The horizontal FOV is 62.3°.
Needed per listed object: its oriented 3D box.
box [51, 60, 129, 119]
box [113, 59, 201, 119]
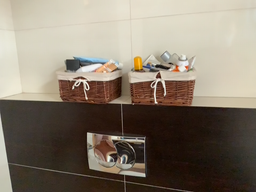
[{"bbox_3d":[-0.150,-0.040,0.890,0.250,0.210,0.180,3,12,22],"label":"box"},{"bbox_3d":[0.120,-0.040,0.820,0.290,0.190,0.190,3,12,22],"label":"box"}]
